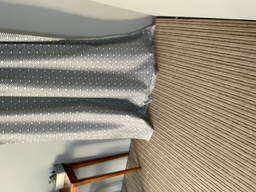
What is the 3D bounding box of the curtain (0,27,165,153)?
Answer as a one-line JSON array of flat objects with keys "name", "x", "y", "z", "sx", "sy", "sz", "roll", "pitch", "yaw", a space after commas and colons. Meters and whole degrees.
[{"name": "curtain", "x": -0.630, "y": -0.020, "z": 1.580, "sx": 0.150, "sy": 2.070, "sz": 0.850, "roll": 38, "pitch": 122, "yaw": 47}]
